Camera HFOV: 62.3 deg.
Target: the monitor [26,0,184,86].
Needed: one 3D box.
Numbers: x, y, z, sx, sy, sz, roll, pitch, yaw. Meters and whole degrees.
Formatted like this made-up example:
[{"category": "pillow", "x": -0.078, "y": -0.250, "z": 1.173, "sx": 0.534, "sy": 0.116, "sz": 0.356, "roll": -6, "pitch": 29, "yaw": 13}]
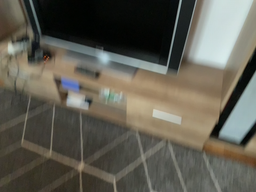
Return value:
[{"category": "monitor", "x": -0.170, "y": -0.370, "z": 1.150, "sx": 0.850, "sy": 0.510, "sz": 0.040, "roll": 17, "pitch": 49, "yaw": 14}]
